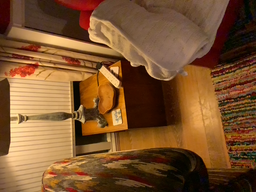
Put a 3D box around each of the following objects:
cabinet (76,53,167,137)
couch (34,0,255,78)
[{"bbox_3d":[-0.080,0.030,1.670,0.570,0.400,0.500,-19,74,47],"label":"cabinet"},{"bbox_3d":[0.110,-0.620,1.140,0.880,0.840,0.720,34,114,45],"label":"couch"}]
